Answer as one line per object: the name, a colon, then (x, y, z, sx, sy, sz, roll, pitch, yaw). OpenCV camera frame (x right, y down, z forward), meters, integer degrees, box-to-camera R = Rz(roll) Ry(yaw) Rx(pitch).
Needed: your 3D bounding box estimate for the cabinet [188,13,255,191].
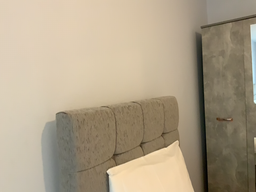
cabinet: (1.170, 0.220, 2.150, 0.840, 1.880, 0.550, -2, 3, 39)
